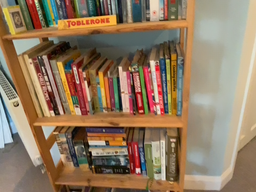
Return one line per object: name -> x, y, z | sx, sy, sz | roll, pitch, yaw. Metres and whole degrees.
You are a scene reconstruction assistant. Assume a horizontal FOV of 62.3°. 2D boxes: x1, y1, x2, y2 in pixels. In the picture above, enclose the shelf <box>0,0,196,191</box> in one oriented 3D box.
shelf -> -0.070, 0.010, 1.080 | 0.690, 1.650, 0.430 | -1, 29, 9
